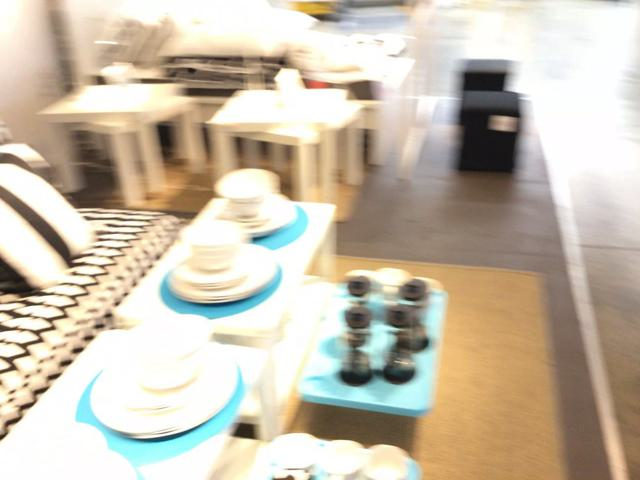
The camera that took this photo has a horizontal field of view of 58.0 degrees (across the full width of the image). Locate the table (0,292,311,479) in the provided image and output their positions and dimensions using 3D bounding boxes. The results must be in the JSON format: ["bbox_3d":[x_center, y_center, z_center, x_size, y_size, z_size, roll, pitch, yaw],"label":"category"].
[{"bbox_3d":[-0.400,0.560,1.230,0.490,0.560,0.760,-1,29,17],"label":"table"}]

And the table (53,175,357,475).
[{"bbox_3d":[-0.270,0.210,1.850,0.570,0.550,0.780,-1,29,17],"label":"table"}]

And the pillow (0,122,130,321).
[{"bbox_3d":[-0.850,-0.060,1.670,0.240,0.390,0.420,-17,22,22],"label":"pillow"}]
